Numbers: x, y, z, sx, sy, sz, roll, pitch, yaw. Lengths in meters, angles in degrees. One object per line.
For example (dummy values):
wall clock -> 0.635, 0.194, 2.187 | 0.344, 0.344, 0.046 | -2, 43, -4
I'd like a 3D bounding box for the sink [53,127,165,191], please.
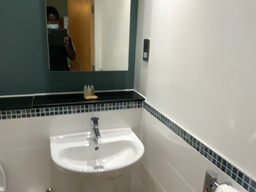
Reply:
sink -> -0.140, 0.380, 1.280 | 0.580, 0.170, 0.410 | -3, 17, -20
